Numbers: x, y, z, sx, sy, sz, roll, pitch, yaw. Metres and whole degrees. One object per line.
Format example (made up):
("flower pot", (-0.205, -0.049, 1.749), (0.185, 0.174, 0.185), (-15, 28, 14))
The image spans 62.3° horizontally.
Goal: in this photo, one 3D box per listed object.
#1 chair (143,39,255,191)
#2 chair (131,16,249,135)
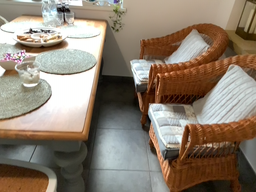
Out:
("chair", (0.550, 0.190, 1.430), (0.690, 0.900, 0.710), (1, 33, -8))
("chair", (0.460, -0.200, 2.030), (0.700, 0.880, 0.710), (1, 33, -8))
